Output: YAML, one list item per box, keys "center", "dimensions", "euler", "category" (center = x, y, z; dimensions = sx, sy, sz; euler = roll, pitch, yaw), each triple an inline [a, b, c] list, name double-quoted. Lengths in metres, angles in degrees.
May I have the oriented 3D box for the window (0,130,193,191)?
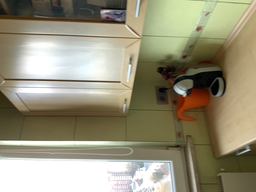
- center: [-0.270, 0.630, 1.290]
  dimensions: [0.180, 1.320, 0.810]
  euler: [101, 169, -63]
  category: "window"

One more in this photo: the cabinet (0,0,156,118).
- center: [-0.330, -0.270, 1.020]
  dimensions: [1.190, 0.760, 0.320]
  euler: [101, 169, -62]
  category: "cabinet"
